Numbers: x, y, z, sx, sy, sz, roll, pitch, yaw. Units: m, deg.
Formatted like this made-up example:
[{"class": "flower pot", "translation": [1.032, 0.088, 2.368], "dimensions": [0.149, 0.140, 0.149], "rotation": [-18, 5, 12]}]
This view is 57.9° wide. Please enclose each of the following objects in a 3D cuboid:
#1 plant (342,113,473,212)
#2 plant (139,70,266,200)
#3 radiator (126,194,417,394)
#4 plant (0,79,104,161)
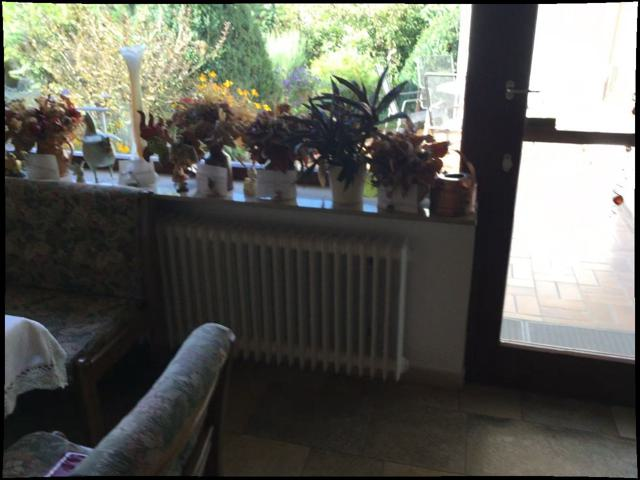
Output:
[{"class": "plant", "translation": [0.320, -0.290, 2.090], "dimensions": [0.430, 0.270, 0.270], "rotation": [5, 25, 13]}, {"class": "plant", "translation": [-0.430, -0.410, 2.210], "dimensions": [0.340, 0.420, 0.300], "rotation": [5, 25, 13]}, {"class": "radiator", "translation": [-0.190, 0.210, 2.420], "dimensions": [1.129, 0.701, 0.230], "rotation": [5, 25, 13]}, {"class": "plant", "translation": [-1.149, -0.501, 2.370], "dimensions": [0.340, 0.260, 0.310], "rotation": [5, 25, 13]}]
